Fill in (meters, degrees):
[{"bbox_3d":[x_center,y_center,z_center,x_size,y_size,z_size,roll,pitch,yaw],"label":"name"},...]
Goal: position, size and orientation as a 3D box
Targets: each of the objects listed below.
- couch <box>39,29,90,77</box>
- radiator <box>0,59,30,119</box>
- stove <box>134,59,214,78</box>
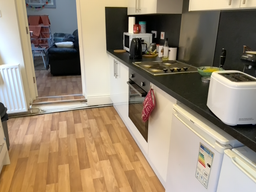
[{"bbox_3d":[-1.550,-1.180,5.380,0.970,0.930,1.730,-4,21,-13],"label":"couch"},{"bbox_3d":[-1.730,-0.080,2.890,0.590,0.760,0.170,-8,22,-17],"label":"radiator"},{"bbox_3d":[0.410,-0.280,2.050,0.540,0.030,0.590,-6,21,-18],"label":"stove"}]
